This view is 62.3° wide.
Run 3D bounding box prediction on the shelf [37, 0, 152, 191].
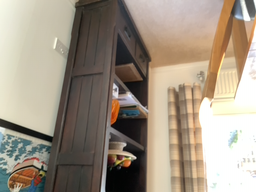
[{"bbox_3d":[-0.120,0.230,1.660,0.380,1.780,0.950,-6,157,20],"label":"shelf"}]
